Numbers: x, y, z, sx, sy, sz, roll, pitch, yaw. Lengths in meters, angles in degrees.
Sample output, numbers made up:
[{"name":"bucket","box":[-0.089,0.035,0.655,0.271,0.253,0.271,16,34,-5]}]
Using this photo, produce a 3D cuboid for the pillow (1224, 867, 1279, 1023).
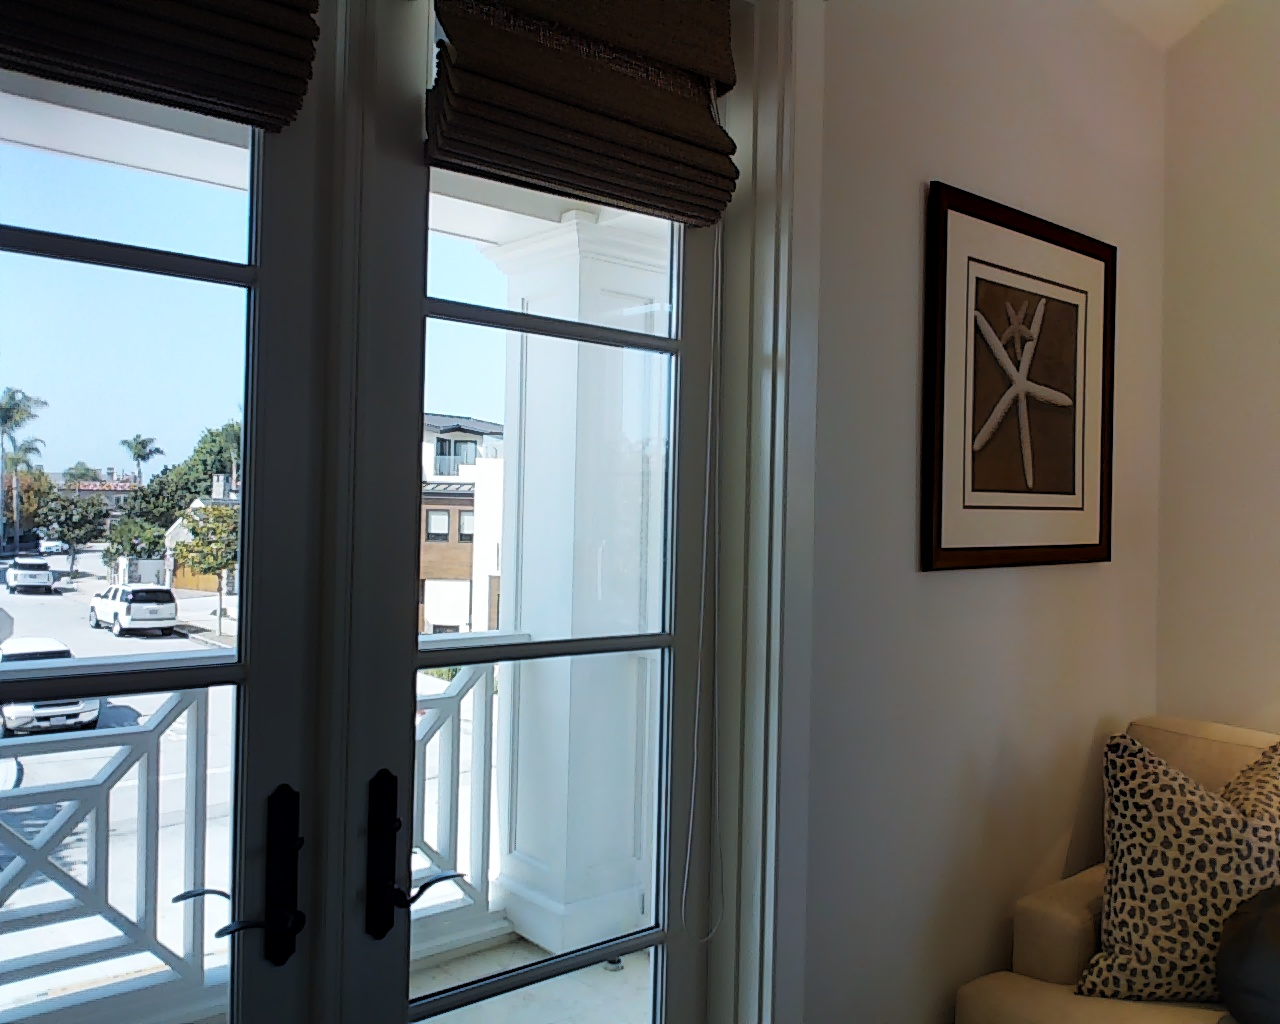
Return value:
[{"name":"pillow","box":[1.279,0.870,1.940,0.370,0.300,0.350,1,-1,26]}]

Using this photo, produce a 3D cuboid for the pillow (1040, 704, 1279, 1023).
[{"name":"pillow","box":[1.259,0.720,2.280,0.660,0.550,0.390,1,-1,-2]}]
